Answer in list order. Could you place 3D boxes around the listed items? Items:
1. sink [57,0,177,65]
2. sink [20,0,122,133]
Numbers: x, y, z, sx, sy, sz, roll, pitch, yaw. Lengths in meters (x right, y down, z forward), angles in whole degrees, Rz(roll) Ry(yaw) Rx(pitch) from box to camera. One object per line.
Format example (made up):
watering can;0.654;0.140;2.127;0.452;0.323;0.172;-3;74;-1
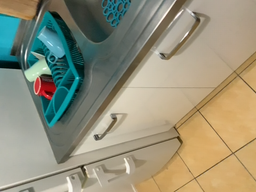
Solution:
sink;-0.050;-0.360;0.660;0.340;0.150;0.380;-50;59;33
sink;-0.260;-0.120;0.860;0.360;0.150;0.380;-50;59;33
